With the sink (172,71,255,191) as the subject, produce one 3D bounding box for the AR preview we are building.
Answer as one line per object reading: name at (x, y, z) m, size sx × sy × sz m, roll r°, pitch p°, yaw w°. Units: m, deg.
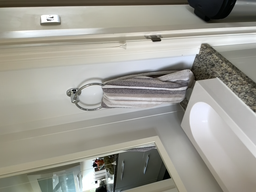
sink at (0.380, 0.240, 0.690) m, size 0.670 × 0.120 × 0.310 m, roll -115°, pitch 23°, yaw -45°
